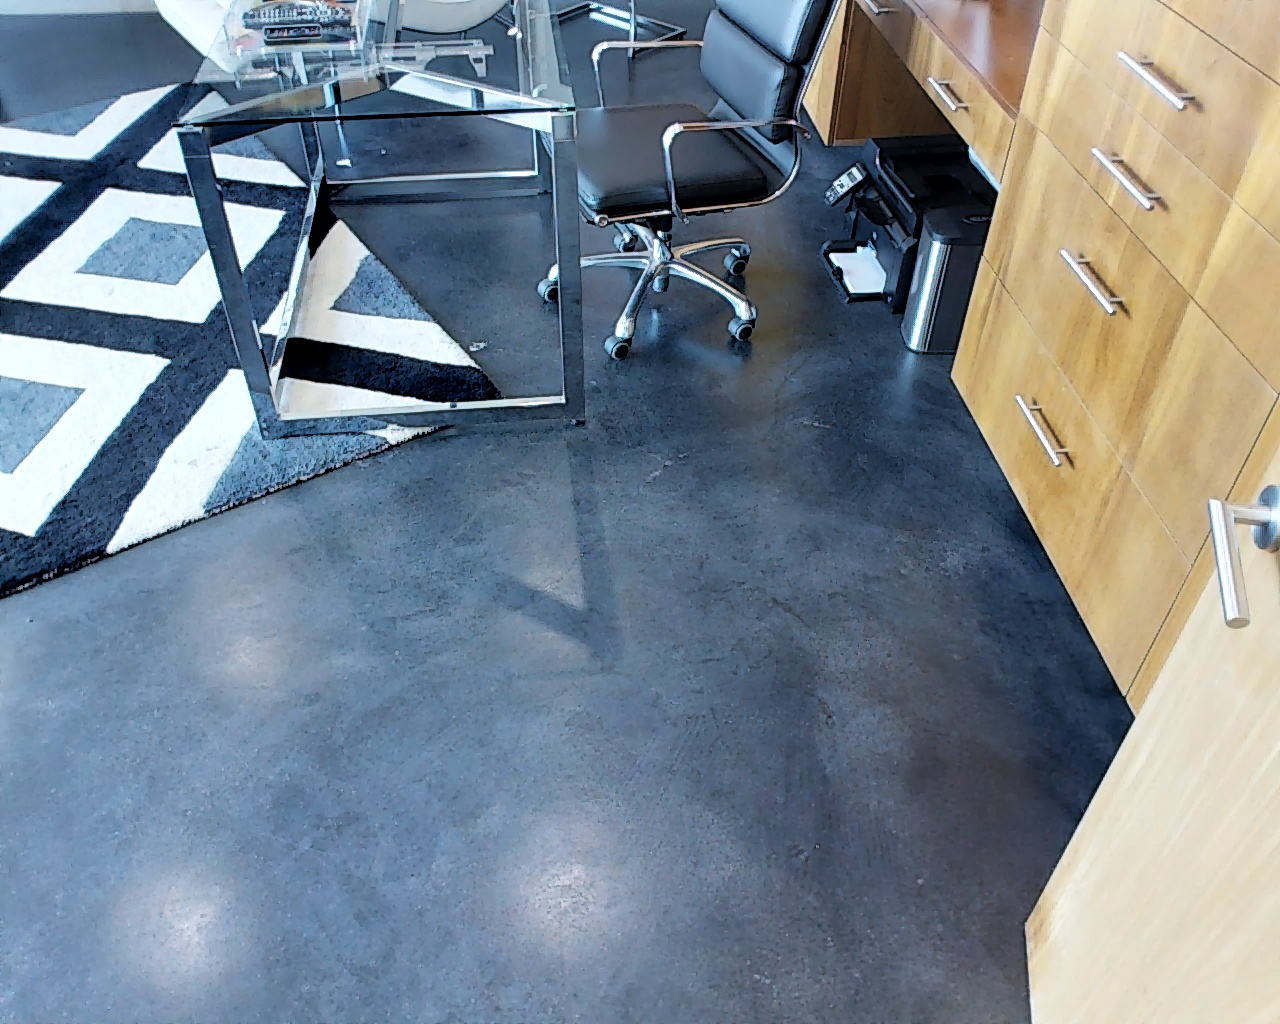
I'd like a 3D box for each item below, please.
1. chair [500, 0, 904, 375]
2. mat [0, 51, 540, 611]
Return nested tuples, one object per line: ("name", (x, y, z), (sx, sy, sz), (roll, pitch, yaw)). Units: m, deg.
("chair", (0.110, -1.040, 2.710), (0.740, 1.040, 0.700), (-14, 45, -15))
("mat", (-2.380, -0.400, 2.760), (3.380, 0.070, 2.610), (-25, 48, -24))
